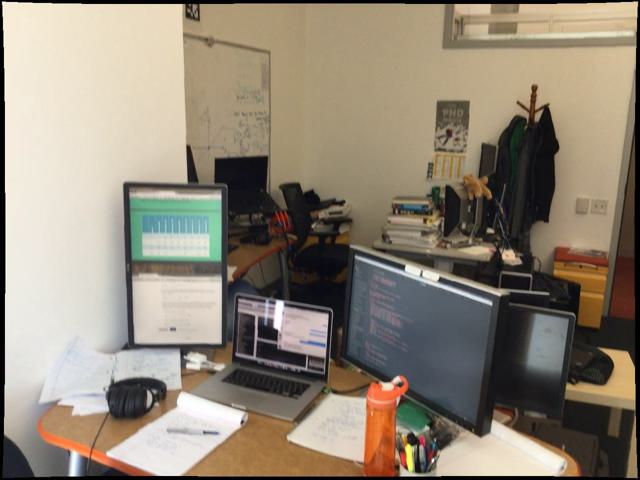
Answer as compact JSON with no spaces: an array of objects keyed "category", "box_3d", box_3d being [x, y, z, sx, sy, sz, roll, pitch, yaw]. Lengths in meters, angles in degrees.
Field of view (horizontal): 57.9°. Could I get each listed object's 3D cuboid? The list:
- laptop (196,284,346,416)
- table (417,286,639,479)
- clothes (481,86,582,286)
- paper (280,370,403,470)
[{"category":"laptop","box_3d":[-0.140,0.320,1.790,0.350,0.250,0.320,5,14,21]},{"category":"table","box_3d":[1.079,0.701,2.790,1.009,0.611,0.650,10,16,23]},{"category":"clothes","box_3d":[1.638,-0.430,4.500,0.490,1.451,0.410,10,16,23]},{"category":"paper","box_3d":[0.070,0.480,1.590,0.230,0.060,0.320,10,16,23]}]
